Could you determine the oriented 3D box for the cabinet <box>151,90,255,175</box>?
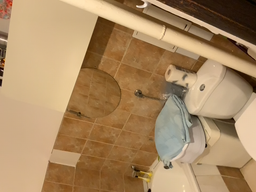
[{"bbox_3d":[0.650,0.300,1.680,0.360,0.800,0.360,-101,32,-56],"label":"cabinet"}]
